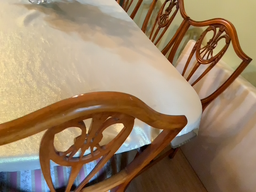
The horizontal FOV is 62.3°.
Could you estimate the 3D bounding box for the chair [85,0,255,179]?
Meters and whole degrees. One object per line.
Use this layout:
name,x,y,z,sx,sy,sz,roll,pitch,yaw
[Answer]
chair,0.150,-0.020,1.290,0.570,0.920,0.520,0,41,-26

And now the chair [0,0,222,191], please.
chair,-0.260,0.210,0.780,0.510,0.950,0.520,0,41,-26

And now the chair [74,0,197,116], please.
chair,-0.030,-0.340,1.640,0.560,0.890,0.490,0,41,-26
